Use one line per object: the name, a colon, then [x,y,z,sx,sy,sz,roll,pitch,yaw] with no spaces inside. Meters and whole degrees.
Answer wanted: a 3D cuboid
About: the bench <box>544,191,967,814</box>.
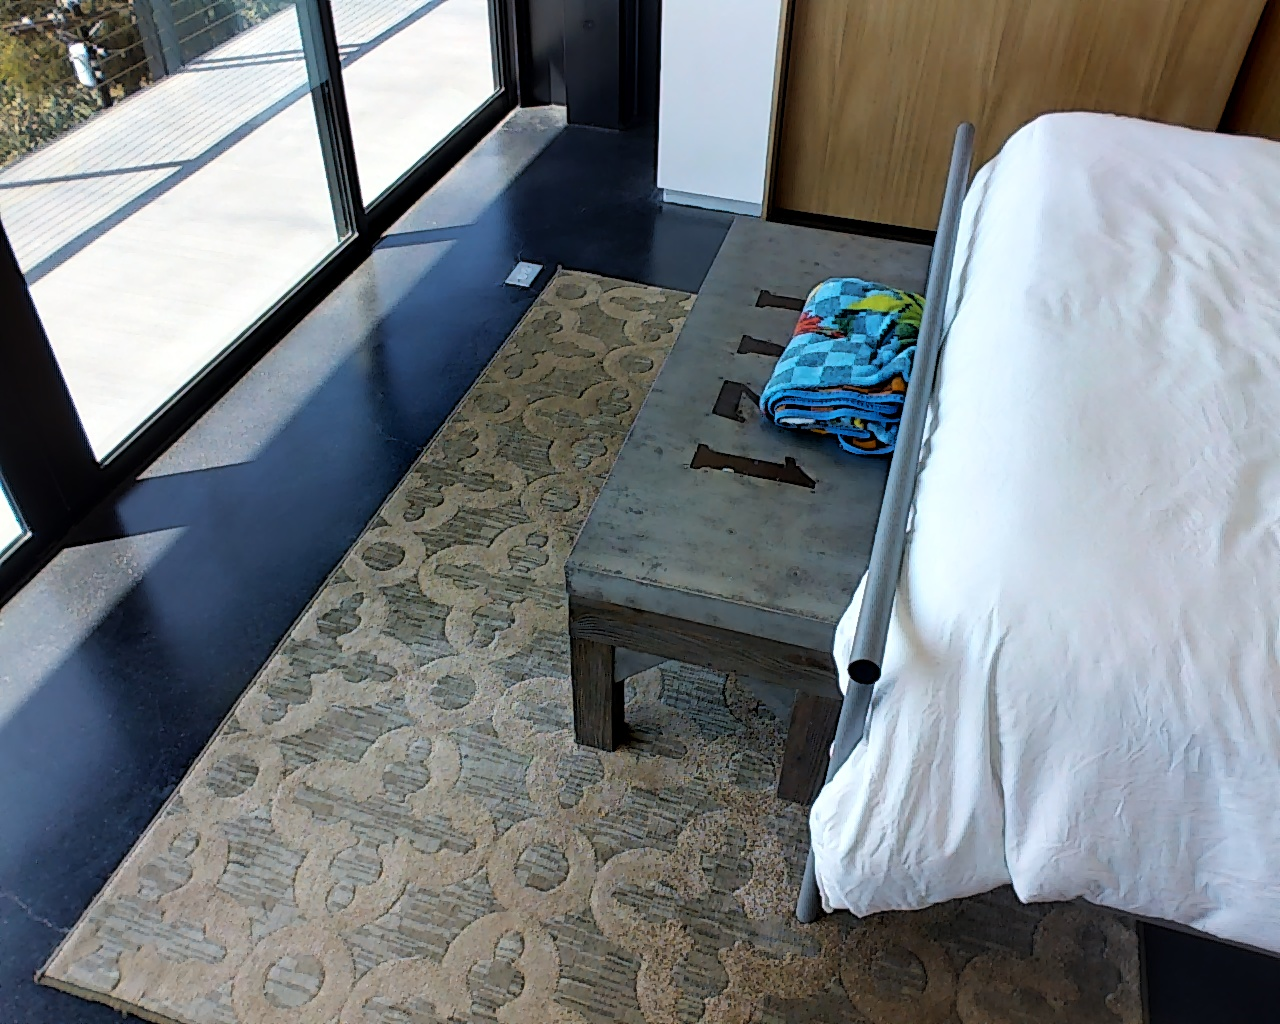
bench: [0.290,-0.120,2.160,0.520,0.470,1.260,12,43,12]
